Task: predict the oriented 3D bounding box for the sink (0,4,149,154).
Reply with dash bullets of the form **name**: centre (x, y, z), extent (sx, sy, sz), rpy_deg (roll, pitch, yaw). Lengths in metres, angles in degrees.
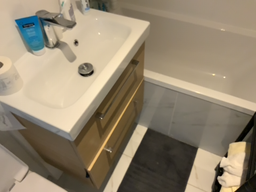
- **sink**: centre (-0.230, -0.140, 0.910), extent (0.410, 0.120, 0.650), rpy_deg (21, 55, 17)
